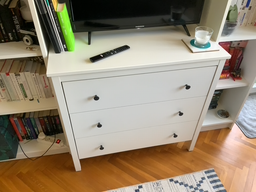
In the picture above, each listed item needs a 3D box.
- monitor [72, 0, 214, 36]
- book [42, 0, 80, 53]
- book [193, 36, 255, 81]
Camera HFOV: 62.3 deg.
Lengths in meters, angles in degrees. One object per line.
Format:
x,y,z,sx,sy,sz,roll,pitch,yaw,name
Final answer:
0.100,-0.550,1.090,0.770,0.460,0.040,-6,43,-10,monitor
-0.340,-0.430,1.090,0.130,0.290,0.300,-8,42,-12,book
0.660,-0.260,1.470,0.330,0.260,0.130,-5,41,-9,book
